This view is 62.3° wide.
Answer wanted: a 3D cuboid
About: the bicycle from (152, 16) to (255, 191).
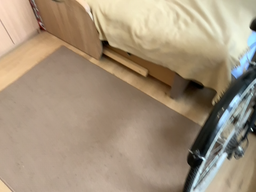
[{"bbox_3d":[0.670,-0.140,1.080,0.270,0.720,1.490,31,61,19],"label":"bicycle"}]
